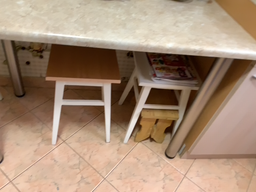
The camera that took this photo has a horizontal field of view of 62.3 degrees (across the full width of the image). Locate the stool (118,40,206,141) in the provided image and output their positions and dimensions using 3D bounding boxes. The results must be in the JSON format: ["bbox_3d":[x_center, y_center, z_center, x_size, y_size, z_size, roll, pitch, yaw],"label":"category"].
[{"bbox_3d":[0.140,-0.010,1.180,0.300,0.460,0.310,3,45,-13],"label":"stool"}]
